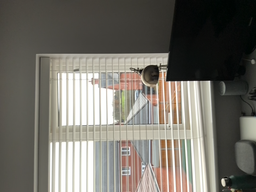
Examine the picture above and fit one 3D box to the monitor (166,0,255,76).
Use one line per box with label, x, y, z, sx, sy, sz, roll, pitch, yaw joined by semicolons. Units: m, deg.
monitor;0.490;-0.430;1.160;0.070;0.480;0.680;-95;5;-56
